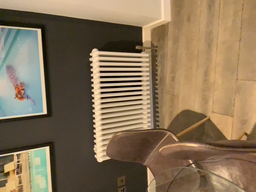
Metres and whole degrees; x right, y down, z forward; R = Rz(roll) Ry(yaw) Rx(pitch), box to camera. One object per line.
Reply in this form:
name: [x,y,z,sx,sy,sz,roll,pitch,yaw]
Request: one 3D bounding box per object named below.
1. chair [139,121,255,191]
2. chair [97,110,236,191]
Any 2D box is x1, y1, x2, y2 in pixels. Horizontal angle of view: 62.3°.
chair: [0.570,0.430,1.100,0.480,0.820,0.520,-23,74,55]
chair: [0.270,0.460,1.580,0.470,0.800,0.440,56,137,37]
